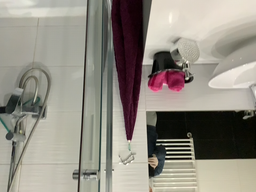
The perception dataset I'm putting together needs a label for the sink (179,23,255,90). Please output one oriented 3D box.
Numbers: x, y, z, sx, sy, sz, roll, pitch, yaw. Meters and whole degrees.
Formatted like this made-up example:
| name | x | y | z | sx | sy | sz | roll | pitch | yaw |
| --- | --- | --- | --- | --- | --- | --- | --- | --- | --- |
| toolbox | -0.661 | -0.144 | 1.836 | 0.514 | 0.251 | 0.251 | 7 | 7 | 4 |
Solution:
| name | x | y | z | sx | sy | sz | roll | pitch | yaw |
| --- | --- | --- | --- | --- | --- | --- | --- | --- | --- |
| sink | 0.570 | -0.150 | 0.940 | 0.590 | 0.140 | 0.370 | 0 | 164 | 0 |
